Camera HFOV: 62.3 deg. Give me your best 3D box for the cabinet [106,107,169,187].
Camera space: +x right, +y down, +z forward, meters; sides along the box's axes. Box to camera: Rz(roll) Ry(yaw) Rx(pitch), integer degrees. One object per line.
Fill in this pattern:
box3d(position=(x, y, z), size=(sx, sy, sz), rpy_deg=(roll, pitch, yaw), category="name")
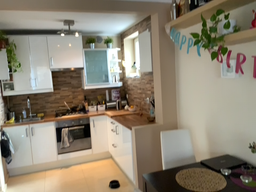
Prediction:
box3d(position=(0.090, 0.740, 3.560), size=(0.610, 0.900, 1.220), rpy_deg=(-5, 6, -19), category="cabinet")
